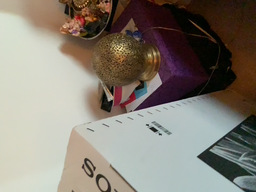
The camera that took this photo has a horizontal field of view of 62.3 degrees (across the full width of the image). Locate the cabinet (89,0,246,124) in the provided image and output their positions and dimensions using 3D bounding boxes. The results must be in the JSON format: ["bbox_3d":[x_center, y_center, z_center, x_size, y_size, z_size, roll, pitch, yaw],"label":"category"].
[{"bbox_3d":[0.190,-0.220,1.060,0.440,0.450,0.530,-32,75,37],"label":"cabinet"}]
